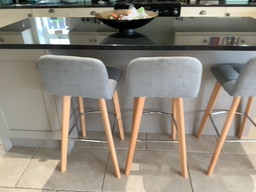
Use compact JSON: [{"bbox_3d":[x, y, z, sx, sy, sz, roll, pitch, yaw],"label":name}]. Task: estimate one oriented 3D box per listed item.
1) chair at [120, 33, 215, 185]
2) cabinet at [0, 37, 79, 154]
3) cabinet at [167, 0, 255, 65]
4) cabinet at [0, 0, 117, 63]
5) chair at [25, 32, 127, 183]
[{"bbox_3d":[0.210,0.080,1.460,0.450,0.890,0.530,2,30,4],"label":"chair"},{"bbox_3d":[-0.770,0.010,1.640,0.600,0.850,0.310,2,30,4],"label":"cabinet"},{"bbox_3d":[1.300,-1.030,3.360,1.230,0.880,0.610,1,30,4],"label":"cabinet"},{"bbox_3d":[-1.430,-1.100,3.520,2.400,0.890,0.630,1,30,4],"label":"cabinet"},{"bbox_3d":[-0.260,0.070,1.490,0.450,0.890,0.540,2,30,4],"label":"chair"}]
